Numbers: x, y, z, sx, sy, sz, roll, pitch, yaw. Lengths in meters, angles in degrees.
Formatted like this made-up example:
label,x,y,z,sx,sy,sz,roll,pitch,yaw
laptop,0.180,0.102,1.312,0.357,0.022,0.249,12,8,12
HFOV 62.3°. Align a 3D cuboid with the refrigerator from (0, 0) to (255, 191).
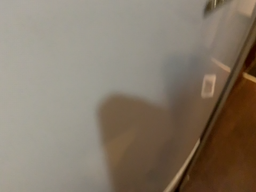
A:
label,x,y,z,sx,sy,sz,roll,pitch,yaw
refrigerator,-0.160,0.170,0.750,0.590,1.510,0.640,34,56,27
